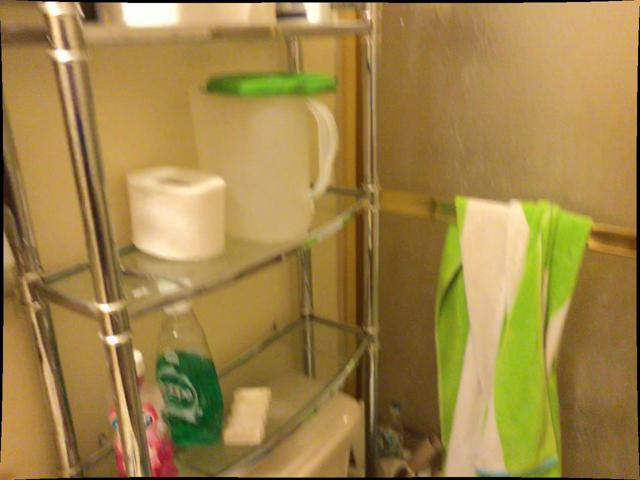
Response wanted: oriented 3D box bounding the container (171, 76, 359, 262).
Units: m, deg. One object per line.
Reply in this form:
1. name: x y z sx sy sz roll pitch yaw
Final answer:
1. container: -0.080 -0.130 0.930 0.220 0.250 0.190 11 22 32

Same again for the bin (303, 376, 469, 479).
1. bin: 0.170 0.681 1.510 0.350 0.510 0.220 11 22 32
